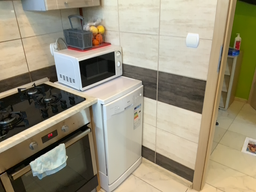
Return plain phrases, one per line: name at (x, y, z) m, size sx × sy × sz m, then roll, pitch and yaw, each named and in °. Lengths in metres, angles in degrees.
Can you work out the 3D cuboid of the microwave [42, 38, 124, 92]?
microwave at (-0.350, -0.280, 1.720) m, size 0.460 × 0.260 × 0.430 m, roll 18°, pitch 32°, yaw 35°
